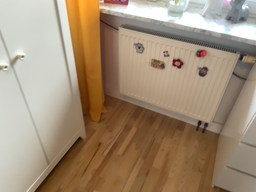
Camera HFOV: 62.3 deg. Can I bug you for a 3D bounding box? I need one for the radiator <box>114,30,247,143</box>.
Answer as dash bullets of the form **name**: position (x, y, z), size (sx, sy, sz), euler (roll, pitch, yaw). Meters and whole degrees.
- **radiator**: position (0.320, -0.060, 1.690), size (0.900, 0.720, 0.140), euler (18, 43, 16)
